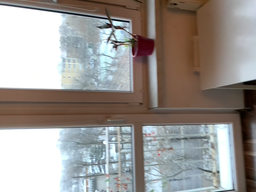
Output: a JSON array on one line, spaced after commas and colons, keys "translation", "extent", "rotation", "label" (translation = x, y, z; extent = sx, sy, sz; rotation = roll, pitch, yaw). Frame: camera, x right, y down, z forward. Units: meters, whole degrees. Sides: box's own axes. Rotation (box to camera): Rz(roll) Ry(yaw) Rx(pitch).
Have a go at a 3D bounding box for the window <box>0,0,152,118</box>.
[{"translation": [-0.600, -1.080, 1.370], "extent": [0.140, 1.560, 2.430], "rotation": [169, 102, -72], "label": "window"}]
